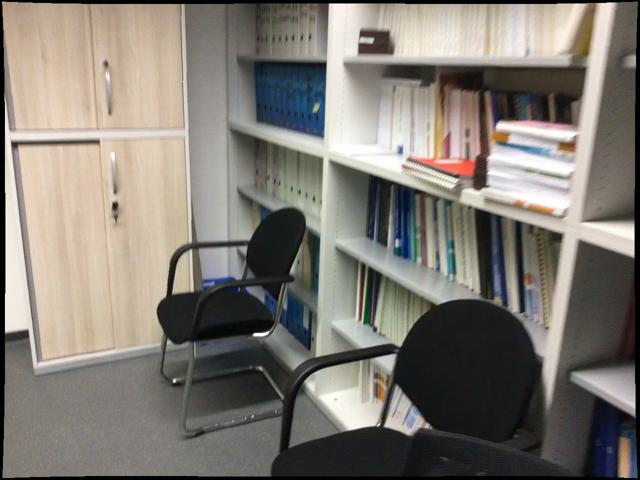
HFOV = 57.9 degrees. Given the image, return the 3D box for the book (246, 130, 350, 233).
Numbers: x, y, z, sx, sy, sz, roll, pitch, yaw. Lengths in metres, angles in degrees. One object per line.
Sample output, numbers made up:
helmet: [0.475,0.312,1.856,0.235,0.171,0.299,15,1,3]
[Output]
book: [-0.150,-0.330,2.900,0.060,0.320,1.070,-8,19,-26]

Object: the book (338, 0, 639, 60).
book: [0.529,-0.721,1.730,0.430,0.340,1.170,-8,19,-26]

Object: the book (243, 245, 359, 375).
book: [-0.140,0.330,3.130,0.210,0.330,0.980,-8,19,-26]

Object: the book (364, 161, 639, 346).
book: [0.559,-0.030,2.000,0.270,0.300,1.100,-8,19,-26]

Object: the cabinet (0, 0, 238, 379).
cabinet: [-0.999,-0.571,2.830,0.989,2.282,0.540,-8,19,-26]

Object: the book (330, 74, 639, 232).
book: [0.499,-0.350,1.830,0.420,0.310,1.180,-8,19,-26]
